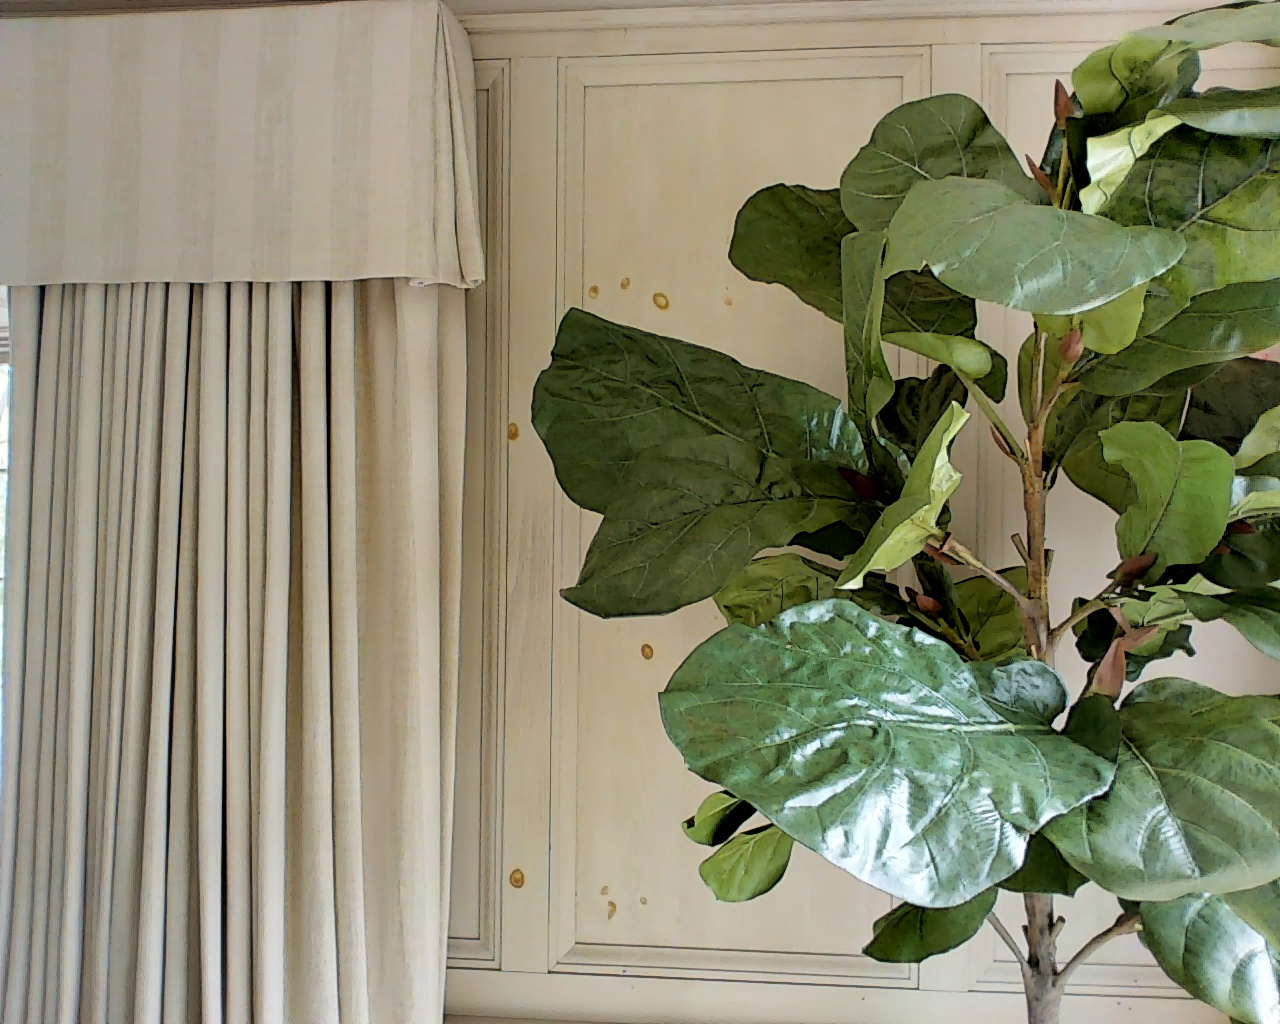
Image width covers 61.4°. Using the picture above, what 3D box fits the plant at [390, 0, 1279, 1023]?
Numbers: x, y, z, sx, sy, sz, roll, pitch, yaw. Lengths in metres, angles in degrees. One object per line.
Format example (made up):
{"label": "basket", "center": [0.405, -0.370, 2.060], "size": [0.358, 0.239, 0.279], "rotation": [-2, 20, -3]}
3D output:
{"label": "plant", "center": [0.440, 0.460, 1.190], "size": [1.140, 2.110, 1.000], "rotation": [0, 1, 5]}
